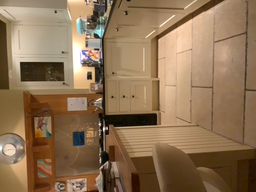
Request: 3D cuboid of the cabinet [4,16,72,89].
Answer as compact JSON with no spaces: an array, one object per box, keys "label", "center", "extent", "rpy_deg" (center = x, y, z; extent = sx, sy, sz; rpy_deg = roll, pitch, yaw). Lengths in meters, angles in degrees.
[{"label":"cabinet","center":[-1.400,-0.660,3.420],"extent":[0.350,0.930,1.070],"rpy_deg":[-154,64,-78]}]
